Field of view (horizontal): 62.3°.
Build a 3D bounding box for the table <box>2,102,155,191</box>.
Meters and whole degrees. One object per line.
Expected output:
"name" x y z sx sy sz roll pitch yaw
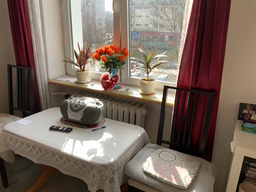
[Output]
"table" -0.380 0.540 1.840 1.000 0.610 0.710 11 22 25
